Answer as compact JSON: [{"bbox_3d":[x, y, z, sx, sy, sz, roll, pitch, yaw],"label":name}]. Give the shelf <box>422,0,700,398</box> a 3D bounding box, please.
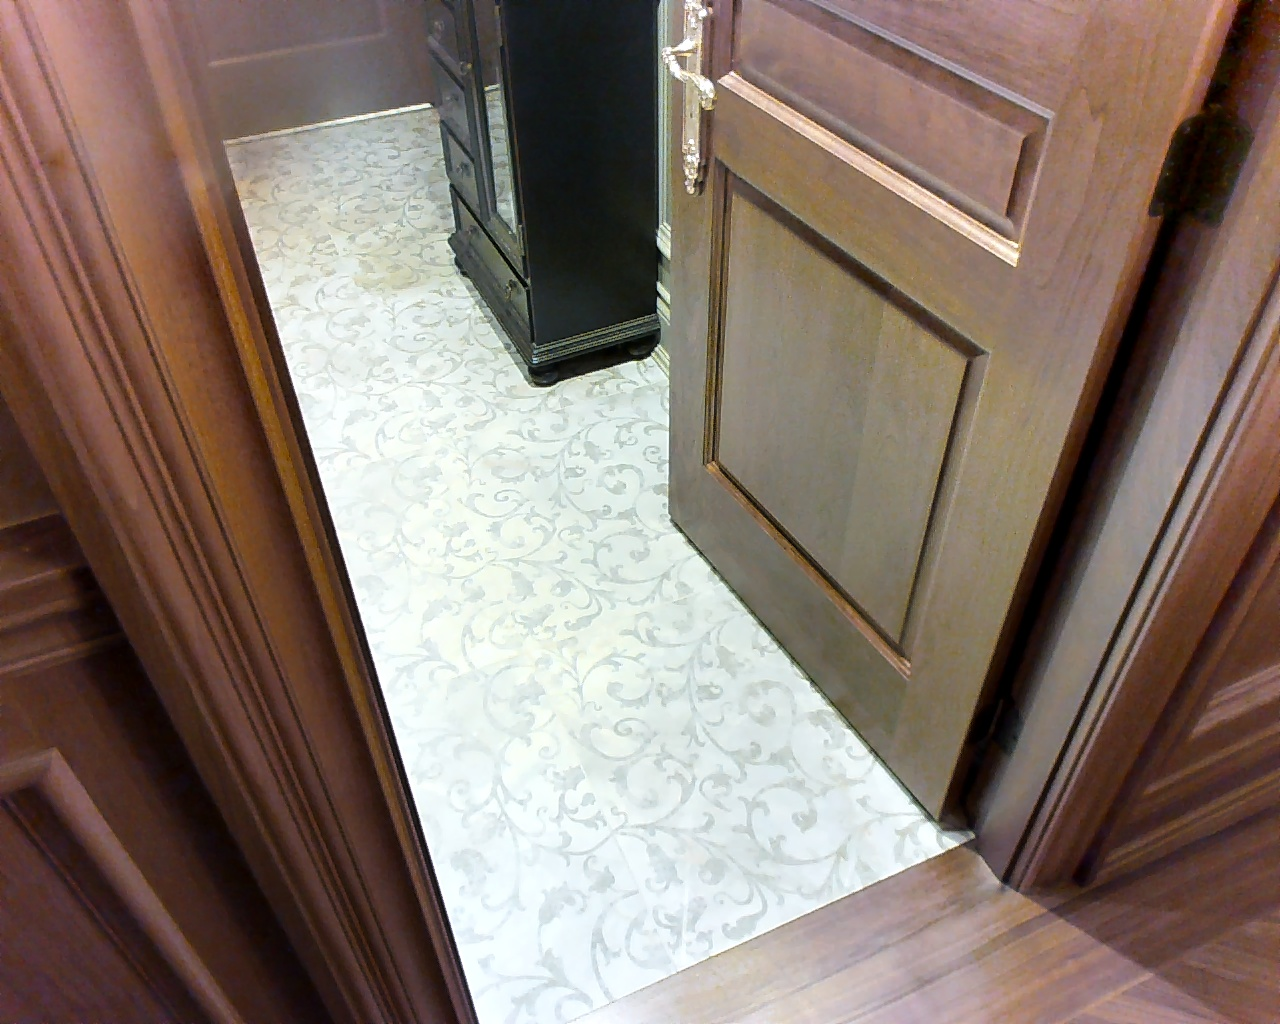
[{"bbox_3d":[-0.180,-0.840,2.270,0.360,0.960,0.610,-18,47,-17],"label":"shelf"}]
